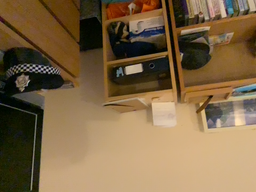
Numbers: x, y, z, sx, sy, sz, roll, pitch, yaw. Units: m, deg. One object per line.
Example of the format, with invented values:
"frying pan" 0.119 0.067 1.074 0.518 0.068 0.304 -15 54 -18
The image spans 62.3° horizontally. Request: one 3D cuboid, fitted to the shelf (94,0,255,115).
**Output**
"shelf" 0.450 -0.500 1.350 1.280 1.070 0.330 -7 162 12
